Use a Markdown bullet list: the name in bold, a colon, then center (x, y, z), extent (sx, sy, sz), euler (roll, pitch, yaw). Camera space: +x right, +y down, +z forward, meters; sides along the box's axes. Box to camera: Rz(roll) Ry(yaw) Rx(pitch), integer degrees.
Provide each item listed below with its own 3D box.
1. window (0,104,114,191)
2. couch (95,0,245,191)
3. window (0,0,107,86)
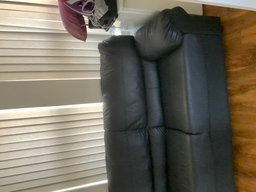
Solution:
- **window**: center (-0.760, 0.550, 2.120), extent (0.030, 1.230, 0.860), euler (171, 95, -68)
- **couch**: center (0.310, 0.310, 1.990), extent (0.950, 0.910, 1.940), euler (174, 92, -68)
- **window**: center (-0.820, -0.540, 2.120), extent (0.020, 1.210, 0.840), euler (174, 92, -68)
